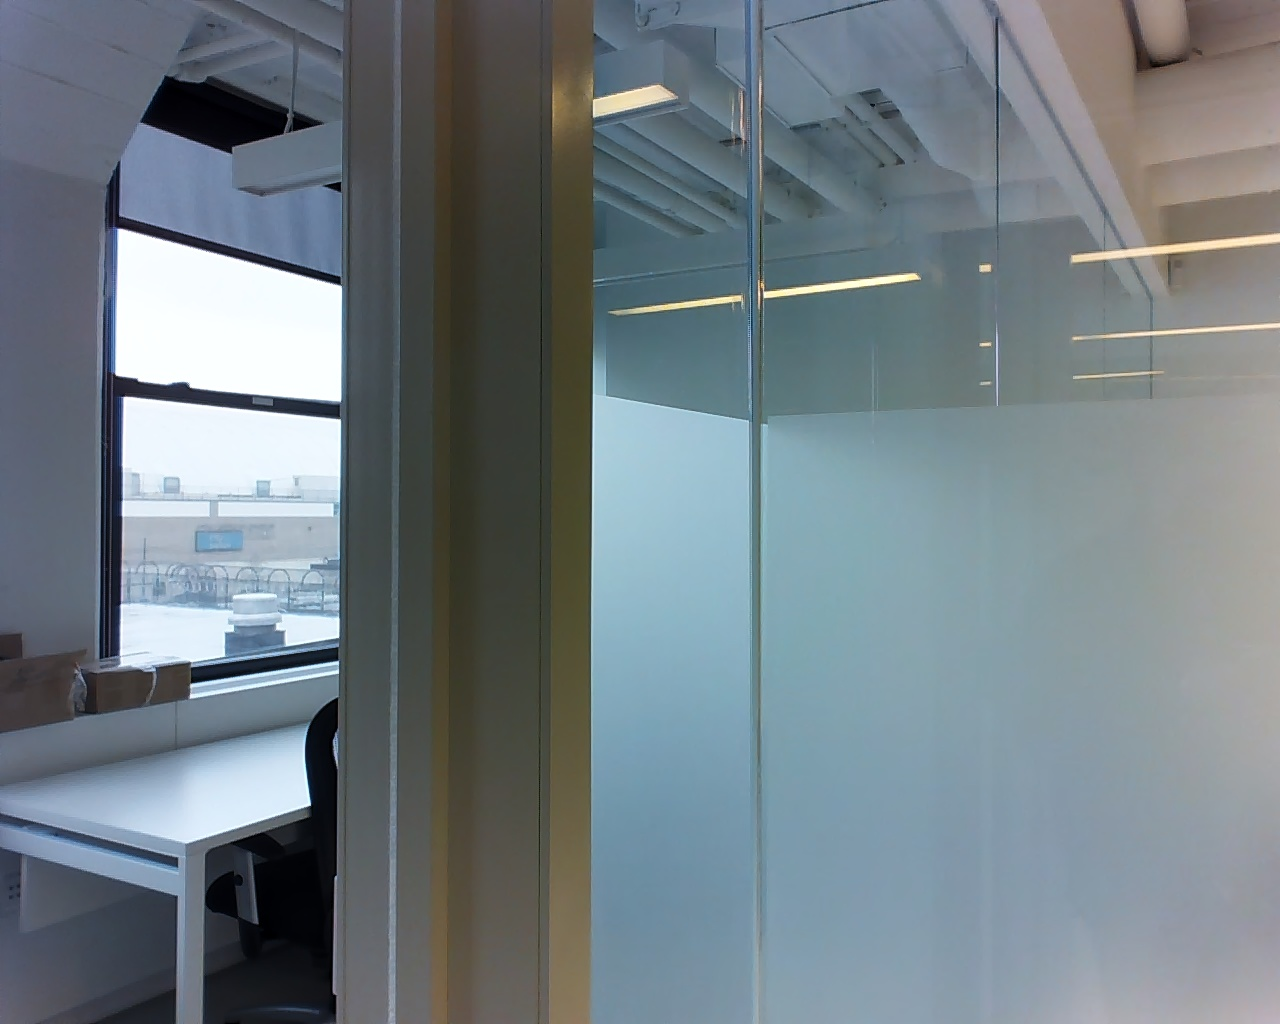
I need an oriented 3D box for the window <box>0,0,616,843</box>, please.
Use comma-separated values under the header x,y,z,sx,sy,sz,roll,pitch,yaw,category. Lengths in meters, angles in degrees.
x,y,z,sx,sy,sz,roll,pitch,yaw,category
-1.030,-0.320,3.770,0.160,2.311,3.320,0,-1,30,window
